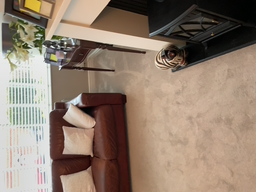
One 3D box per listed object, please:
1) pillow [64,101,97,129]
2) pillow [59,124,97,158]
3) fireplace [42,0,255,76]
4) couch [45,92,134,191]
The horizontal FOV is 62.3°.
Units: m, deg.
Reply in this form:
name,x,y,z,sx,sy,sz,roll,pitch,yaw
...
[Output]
name,x,y,z,sx,sy,sz,roll,pitch,yaw
pillow,-0.620,0.240,2.700,0.370,0.350,0.310,162,105,-70
pillow,-0.620,0.570,2.700,0.150,0.420,0.350,-109,15,-65
fireplace,0.200,-0.500,1.200,1.260,1.090,0.460,-14,78,58
couch,-0.560,0.800,2.770,1.050,0.790,1.580,-12,79,59
